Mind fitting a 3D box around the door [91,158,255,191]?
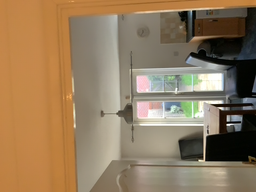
[{"bbox_3d":[0.840,0.490,1.250,0.780,1.950,0.080,45,-135,-83],"label":"door"}]
